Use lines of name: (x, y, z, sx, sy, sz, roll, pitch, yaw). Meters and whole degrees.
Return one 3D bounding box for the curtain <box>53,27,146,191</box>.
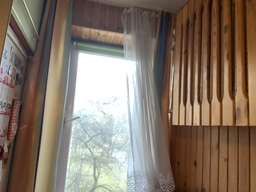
curtain: (-0.220, 0.300, 1.730, 0.630, 1.650, 0.150, 6, -9, -13)
